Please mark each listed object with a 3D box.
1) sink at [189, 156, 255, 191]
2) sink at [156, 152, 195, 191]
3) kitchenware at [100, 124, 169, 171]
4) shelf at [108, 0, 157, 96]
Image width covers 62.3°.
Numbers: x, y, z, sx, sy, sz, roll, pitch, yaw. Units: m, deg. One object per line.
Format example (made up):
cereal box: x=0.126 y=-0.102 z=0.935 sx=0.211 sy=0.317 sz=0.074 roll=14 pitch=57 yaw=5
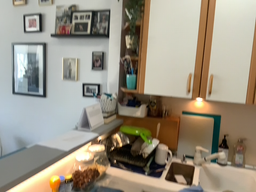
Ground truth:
sink: x=0.630 y=0.620 z=1.380 sx=0.420 sy=0.190 sz=0.520 roll=6 pitch=8 yaw=20
sink: x=0.350 y=0.580 z=1.520 sx=0.200 sy=0.180 sz=0.440 roll=6 pitch=8 yaw=20
kitchenware: x=0.050 y=0.370 z=1.600 sx=0.450 sy=0.190 sz=0.250 roll=7 pitch=8 yaw=24
shelf: x=0.040 y=-0.400 z=1.620 sx=0.230 sy=0.760 sz=0.320 roll=6 pitch=8 yaw=20
